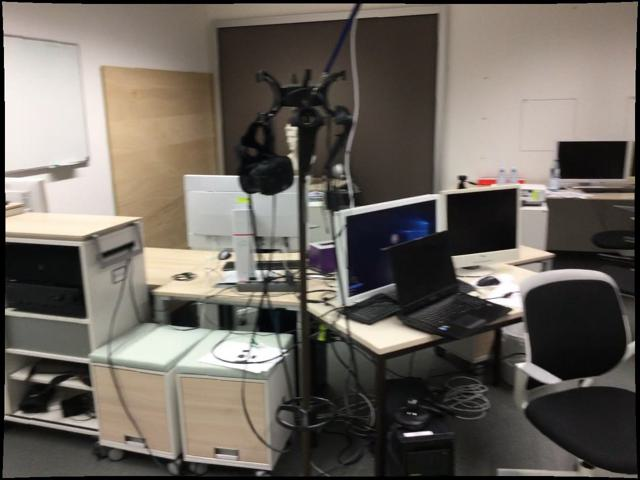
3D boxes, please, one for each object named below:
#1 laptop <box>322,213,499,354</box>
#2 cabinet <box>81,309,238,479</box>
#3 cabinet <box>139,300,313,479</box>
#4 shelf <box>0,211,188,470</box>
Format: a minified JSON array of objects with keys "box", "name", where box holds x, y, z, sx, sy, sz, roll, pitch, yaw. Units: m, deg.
[{"box":[0.360,0.140,2.330,0.480,0.360,0.500,-13,17,-33],"name":"laptop"},{"box":[-0.739,0.711,2.780,0.440,0.581,0.520,1,15,19],"name":"cabinet"},{"box":[-0.400,0.691,2.670,0.540,0.641,0.540,1,15,19],"name":"cabinet"},{"box":[-1.259,0.450,2.950,0.829,1.091,0.600,1,15,19],"name":"shelf"}]
